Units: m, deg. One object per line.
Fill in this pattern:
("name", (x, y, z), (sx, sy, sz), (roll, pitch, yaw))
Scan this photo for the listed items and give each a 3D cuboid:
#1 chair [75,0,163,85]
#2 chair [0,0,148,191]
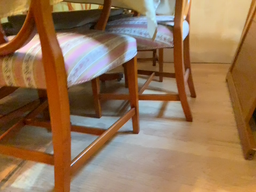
("chair", (-0.030, -0.640, 1.750), (0.520, 0.920, 0.570), (6, 26, 20))
("chair", (-0.270, -0.200, 0.720), (0.530, 0.970, 0.550), (5, 25, 20))
